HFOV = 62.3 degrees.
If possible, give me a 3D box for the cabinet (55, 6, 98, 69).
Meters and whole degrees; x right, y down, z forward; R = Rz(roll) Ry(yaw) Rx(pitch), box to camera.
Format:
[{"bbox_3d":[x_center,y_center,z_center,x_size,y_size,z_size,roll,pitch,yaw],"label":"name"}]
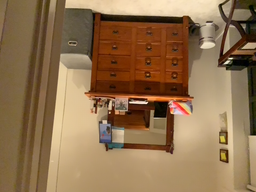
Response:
[{"bbox_3d":[-0.640,-0.730,2.790,0.390,0.590,0.590,2,171,0],"label":"cabinet"}]
